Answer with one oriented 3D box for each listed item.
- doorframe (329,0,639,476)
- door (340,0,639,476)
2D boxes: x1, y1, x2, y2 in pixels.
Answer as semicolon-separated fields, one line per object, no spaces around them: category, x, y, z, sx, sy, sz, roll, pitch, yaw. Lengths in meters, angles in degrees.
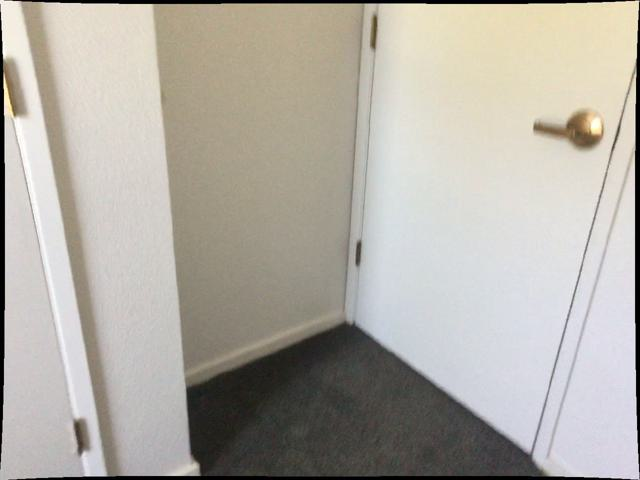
doorframe;0.409;-0.441;1.510;0.080;2.023;0.960;-18;32;-36
door;0.419;-0.421;1.520;0.080;2.053;0.870;-18;32;-36
